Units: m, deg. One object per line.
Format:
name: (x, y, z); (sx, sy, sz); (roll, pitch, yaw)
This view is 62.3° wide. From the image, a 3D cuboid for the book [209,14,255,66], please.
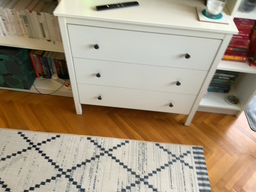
book: (0.750, -0.360, 1.390); (0.330, 0.260, 0.130); (8, 48, 1)
